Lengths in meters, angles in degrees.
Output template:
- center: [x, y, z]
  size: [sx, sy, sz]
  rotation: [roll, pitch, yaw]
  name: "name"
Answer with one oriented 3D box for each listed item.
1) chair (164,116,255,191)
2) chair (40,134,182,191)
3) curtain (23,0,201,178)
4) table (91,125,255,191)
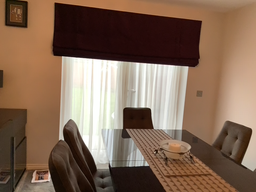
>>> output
- center: [0.730, 0.720, 1.980]
  size: [0.570, 0.950, 0.500]
  rotation: [3, 7, -13]
  name: "chair"
- center: [-0.140, 0.750, 1.230]
  size: [0.630, 0.930, 0.490]
  rotation: [3, 7, -13]
  name: "chair"
- center: [-0.220, 0.020, 3.050]
  size: [2.360, 2.390, 0.080]
  rotation: [4, 7, -8]
  name: "curtain"
- center: [0.280, 0.820, 1.590]
  size: [0.970, 0.770, 1.580]
  rotation: [3, 7, -14]
  name: "table"
